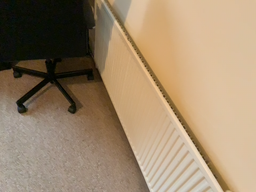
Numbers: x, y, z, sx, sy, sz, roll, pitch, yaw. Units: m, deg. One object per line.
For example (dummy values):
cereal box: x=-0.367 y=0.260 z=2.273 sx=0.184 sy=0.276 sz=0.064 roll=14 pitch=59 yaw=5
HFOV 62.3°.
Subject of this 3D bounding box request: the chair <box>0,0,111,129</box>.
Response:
chair: x=-0.540 y=-0.480 z=1.360 sx=0.670 sy=1.170 sz=0.800 roll=-5 pitch=51 yaw=-15
